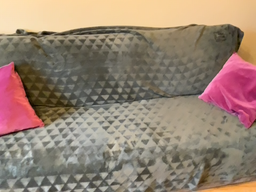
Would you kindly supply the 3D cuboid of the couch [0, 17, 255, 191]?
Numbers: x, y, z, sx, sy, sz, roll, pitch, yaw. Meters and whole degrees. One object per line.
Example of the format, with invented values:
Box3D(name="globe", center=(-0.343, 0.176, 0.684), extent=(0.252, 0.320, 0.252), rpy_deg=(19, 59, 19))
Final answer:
Box3D(name="couch", center=(-0.190, 0.050, 1.400), extent=(2.180, 0.840, 1.000), rpy_deg=(-4, 34, -9))
